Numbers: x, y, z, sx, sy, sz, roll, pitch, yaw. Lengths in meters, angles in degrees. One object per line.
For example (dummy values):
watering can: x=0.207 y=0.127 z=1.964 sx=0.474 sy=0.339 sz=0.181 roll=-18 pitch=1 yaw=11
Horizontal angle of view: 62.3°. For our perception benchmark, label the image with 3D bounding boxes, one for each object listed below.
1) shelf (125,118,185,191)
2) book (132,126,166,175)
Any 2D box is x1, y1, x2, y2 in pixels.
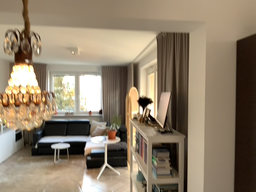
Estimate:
shelf: x=0.240 y=1.030 z=2.550 sx=0.400 sy=1.380 sz=1.210 roll=0 pitch=2 yaw=-8
book: x=0.210 y=0.600 z=2.540 sx=0.220 sy=0.300 sz=0.980 roll=0 pitch=2 yaw=-5
